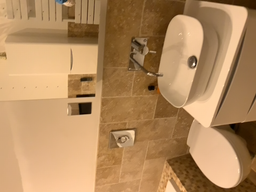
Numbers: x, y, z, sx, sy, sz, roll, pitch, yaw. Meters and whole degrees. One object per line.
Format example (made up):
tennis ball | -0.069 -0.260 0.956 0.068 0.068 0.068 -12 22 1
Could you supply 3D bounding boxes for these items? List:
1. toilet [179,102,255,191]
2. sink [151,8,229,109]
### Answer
toilet | 0.770 0.350 1.610 0.540 0.470 0.370 -126 38 -55
sink | 0.300 -0.220 1.170 0.380 0.120 0.440 -126 38 -55
